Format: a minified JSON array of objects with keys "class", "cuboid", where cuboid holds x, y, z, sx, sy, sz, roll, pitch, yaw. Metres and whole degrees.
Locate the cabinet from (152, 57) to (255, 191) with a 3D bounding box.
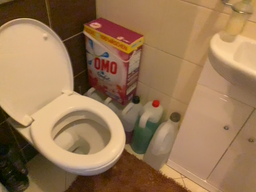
[{"class":"cabinet","cuboid":[0.440,0.230,1.010,0.500,0.650,0.230,29,47,22]}]
